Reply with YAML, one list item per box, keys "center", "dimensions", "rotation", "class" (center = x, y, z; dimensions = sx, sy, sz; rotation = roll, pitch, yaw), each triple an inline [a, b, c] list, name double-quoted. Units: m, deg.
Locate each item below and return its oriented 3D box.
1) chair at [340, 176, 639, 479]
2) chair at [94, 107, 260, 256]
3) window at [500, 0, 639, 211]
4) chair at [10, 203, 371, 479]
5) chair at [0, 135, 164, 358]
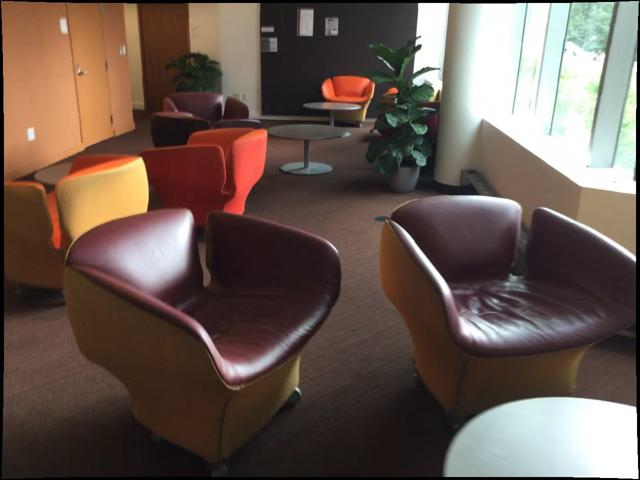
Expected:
- center: [0.738, 0.261, 2.360]
  dimensions: [1.068, 0.782, 0.890]
  rotation: [-4, 23, -15]
  class: "chair"
- center: [-0.958, -0.461, 4.170]
  dimensions: [0.858, 0.802, 0.920]
  rotation: [4, 22, 5]
  class: "chair"
- center: [1.866, -1.073, 3.240]
  dimensions: [0.918, 1.263, 2.531]
  rotation: [3, 19, 2]
  class: "window"
- center: [-0.399, 0.391, 2.120]
  dimensions: [0.898, 0.721, 0.830]
  rotation: [11, 24, 22]
  class: "chair"
- center: [-1.516, -0.040, 3.120]
  dimensions: [0.888, 0.802, 0.960]
  rotation: [8, 22, 14]
  class: "chair"
